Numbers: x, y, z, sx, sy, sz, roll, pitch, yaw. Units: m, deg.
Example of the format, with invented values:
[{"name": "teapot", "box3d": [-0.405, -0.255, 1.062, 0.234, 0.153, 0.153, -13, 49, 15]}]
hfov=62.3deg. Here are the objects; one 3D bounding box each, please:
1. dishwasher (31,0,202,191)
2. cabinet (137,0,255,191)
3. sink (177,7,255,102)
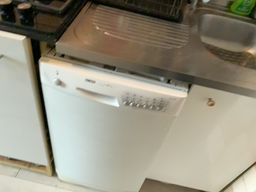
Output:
[{"name": "dishwasher", "box3d": [-0.060, 0.000, 1.080, 0.450, 0.870, 0.650, 13, 44, -1]}, {"name": "cabinet", "box3d": [0.350, 0.070, 1.120, 0.370, 0.870, 0.570, 13, 44, -1]}, {"name": "sink", "box3d": [0.390, -0.180, 0.860, 0.330, 0.160, 0.350, 13, 44, -1]}]
